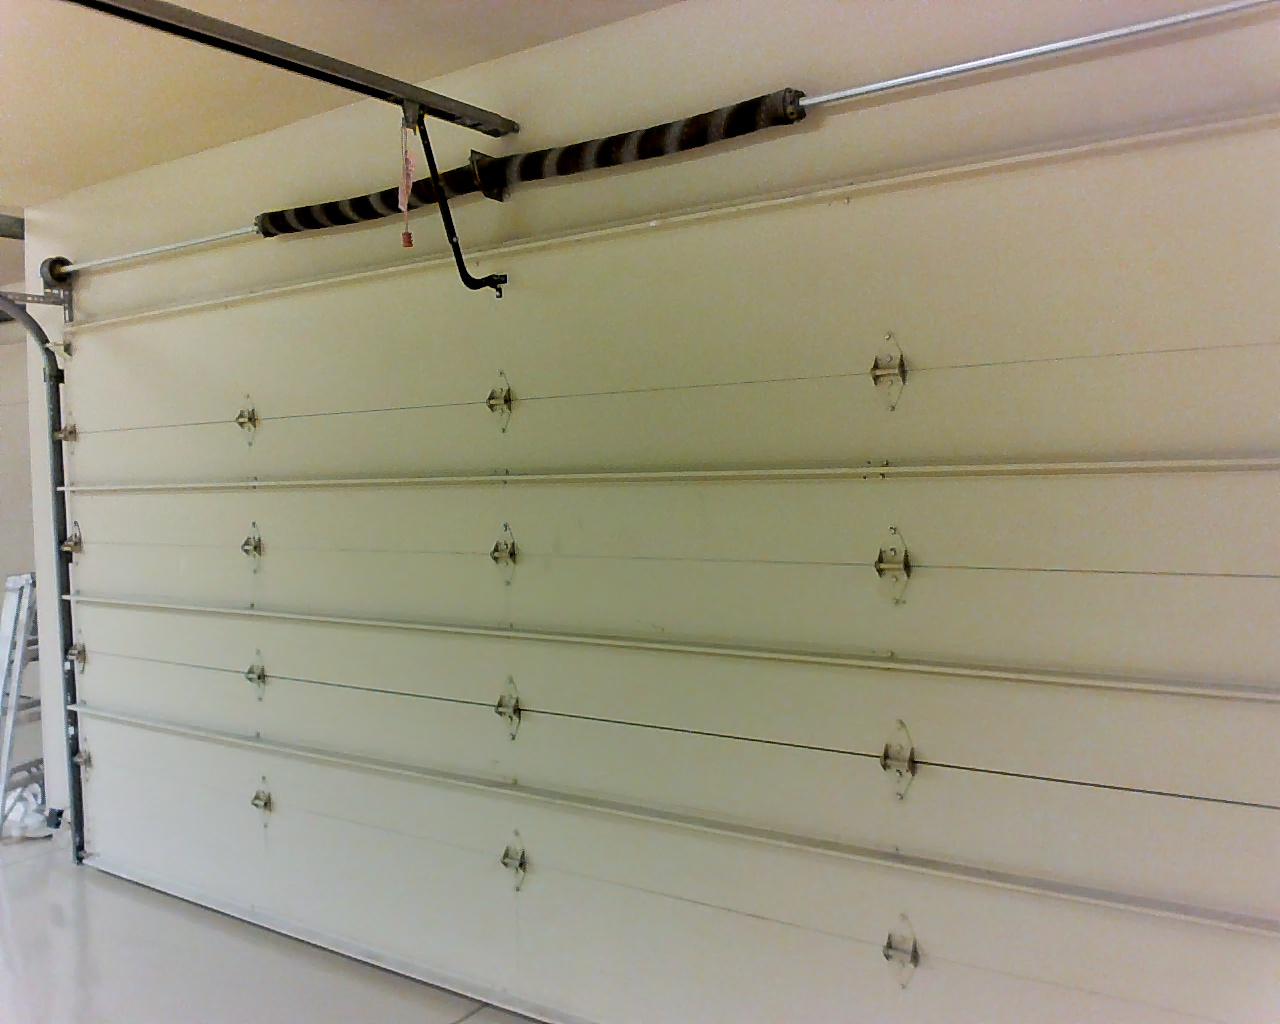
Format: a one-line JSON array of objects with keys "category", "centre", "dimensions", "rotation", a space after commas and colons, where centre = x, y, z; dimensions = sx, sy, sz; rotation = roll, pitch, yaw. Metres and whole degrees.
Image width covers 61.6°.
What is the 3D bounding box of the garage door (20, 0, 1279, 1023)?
[{"category": "garage door", "centre": [-0.520, 0.260, 3.360], "dimensions": [5.319, 2.551, 0.140], "rotation": [0, 2, 35]}]
